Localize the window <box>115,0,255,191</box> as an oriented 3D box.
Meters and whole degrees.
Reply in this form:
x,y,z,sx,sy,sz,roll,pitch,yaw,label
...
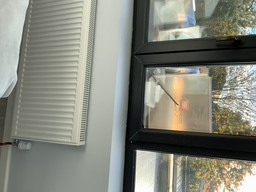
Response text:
x,y,z,sx,sy,sz,roll,pitch,yaw,label
0.660,-0.270,1.280,0.180,1.380,2.430,20,73,-69,window
